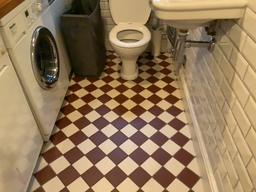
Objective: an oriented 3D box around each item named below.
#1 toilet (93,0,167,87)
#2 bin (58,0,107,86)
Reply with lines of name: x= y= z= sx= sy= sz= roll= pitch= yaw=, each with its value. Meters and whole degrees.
toilet: x=0.030 y=-0.660 z=1.870 sx=0.500 sy=0.920 sz=0.690 roll=1 pitch=40 yaw=2
bin: x=-0.380 y=-0.530 z=2.010 sx=0.240 sy=0.600 sz=0.630 roll=2 pitch=40 yaw=3
